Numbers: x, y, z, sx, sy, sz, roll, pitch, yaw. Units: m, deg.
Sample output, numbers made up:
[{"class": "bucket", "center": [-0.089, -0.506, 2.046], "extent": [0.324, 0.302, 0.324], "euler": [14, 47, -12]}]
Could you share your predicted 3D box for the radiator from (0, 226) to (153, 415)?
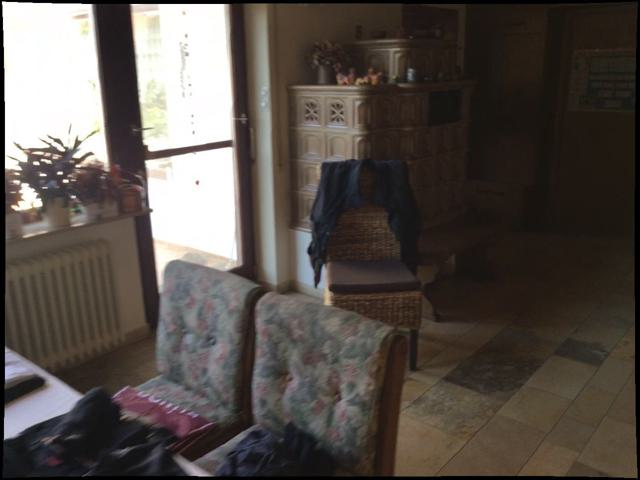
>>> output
[{"class": "radiator", "center": [-1.409, 0.400, 2.810], "extent": [0.260, 0.661, 1.120], "euler": [14, 24, 39]}]

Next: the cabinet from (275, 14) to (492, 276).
[{"class": "cabinet", "center": [0.480, -0.741, 4.080], "extent": [0.840, 1.521, 1.300], "euler": [14, 24, 39]}]

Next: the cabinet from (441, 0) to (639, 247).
[{"class": "cabinet", "center": [2.837, -1.201, 4.510], "extent": [3.718, 2.462, 0.790], "euler": [14, 24, 39]}]
